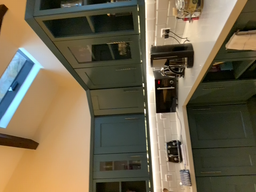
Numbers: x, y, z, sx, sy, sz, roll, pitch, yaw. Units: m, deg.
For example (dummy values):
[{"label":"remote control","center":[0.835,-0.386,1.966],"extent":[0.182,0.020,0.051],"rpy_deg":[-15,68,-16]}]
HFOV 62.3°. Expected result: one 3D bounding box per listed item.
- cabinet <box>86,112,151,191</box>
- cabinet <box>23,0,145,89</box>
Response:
[{"label":"cabinet","center":[-0.120,0.980,2.850],"extent":[0.300,0.810,1.450],"rpy_deg":[76,-169,-72]},{"label":"cabinet","center":[-0.250,-0.500,2.130],"extent":[1.450,0.810,0.350],"rpy_deg":[76,-168,-72]}]
